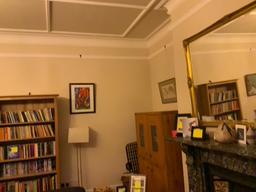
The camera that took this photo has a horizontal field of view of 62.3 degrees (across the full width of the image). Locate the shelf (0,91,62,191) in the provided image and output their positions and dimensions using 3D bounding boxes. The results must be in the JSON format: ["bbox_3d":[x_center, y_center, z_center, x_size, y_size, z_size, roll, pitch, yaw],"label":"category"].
[{"bbox_3d":[-1.580,0.950,3.320,1.000,2.010,0.370,-2,-4,-20],"label":"shelf"}]

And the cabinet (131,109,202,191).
[{"bbox_3d":[0.540,1.030,3.420,0.530,1.580,1.260,-2,-4,-18],"label":"cabinet"}]

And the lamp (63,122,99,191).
[{"bbox_3d":[-0.790,1.190,3.560,0.480,1.450,0.340,-1,-5,-24],"label":"lamp"}]
